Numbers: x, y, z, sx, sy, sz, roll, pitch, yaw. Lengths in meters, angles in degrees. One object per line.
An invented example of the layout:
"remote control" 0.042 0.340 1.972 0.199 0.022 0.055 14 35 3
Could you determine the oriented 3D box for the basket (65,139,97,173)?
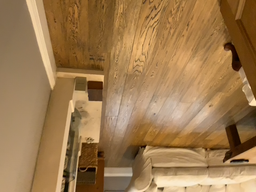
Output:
"basket" -0.680 0.900 3.150 0.400 0.370 0.500 2 149 -7
